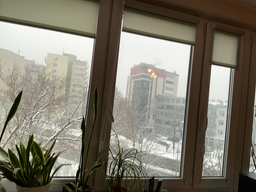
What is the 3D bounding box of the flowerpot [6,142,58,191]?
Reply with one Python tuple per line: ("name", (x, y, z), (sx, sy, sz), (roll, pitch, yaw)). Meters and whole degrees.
("flowerpot", (-0.580, 0.510, 1.280), (0.240, 0.410, 0.230), (7, -2, -21))
